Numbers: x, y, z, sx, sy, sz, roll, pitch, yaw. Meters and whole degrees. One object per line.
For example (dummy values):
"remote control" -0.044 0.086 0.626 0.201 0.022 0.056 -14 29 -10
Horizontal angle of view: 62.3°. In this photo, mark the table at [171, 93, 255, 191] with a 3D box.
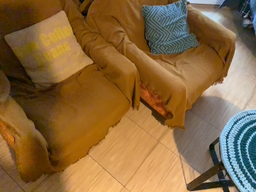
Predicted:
"table" 0.680 0.440 1.200 0.530 0.520 0.540 39 59 18

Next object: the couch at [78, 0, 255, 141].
"couch" 0.270 -0.400 1.540 0.900 0.780 0.810 39 59 18

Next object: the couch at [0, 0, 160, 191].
"couch" -0.510 -0.160 1.260 0.960 0.790 0.770 39 59 18

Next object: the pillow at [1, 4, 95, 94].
"pillow" -0.470 -0.260 1.280 0.120 0.380 0.390 39 100 43

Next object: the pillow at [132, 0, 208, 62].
"pillow" 0.310 -0.490 1.570 0.360 0.410 0.140 21 41 -44
